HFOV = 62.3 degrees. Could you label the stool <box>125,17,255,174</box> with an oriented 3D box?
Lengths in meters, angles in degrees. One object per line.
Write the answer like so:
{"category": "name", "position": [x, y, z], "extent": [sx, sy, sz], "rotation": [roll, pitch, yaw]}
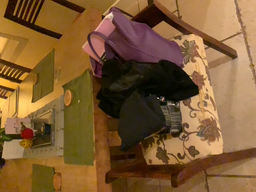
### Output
{"category": "stool", "position": [0.340, 0.040, 1.160], "extent": [0.420, 0.520, 0.640], "rotation": [-19, 71, 47]}
